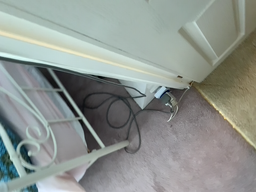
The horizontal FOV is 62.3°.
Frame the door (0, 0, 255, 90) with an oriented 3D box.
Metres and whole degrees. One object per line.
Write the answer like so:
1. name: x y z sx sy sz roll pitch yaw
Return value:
1. door: 0.140 -0.320 0.220 0.770 1.830 0.020 -48 69 19
